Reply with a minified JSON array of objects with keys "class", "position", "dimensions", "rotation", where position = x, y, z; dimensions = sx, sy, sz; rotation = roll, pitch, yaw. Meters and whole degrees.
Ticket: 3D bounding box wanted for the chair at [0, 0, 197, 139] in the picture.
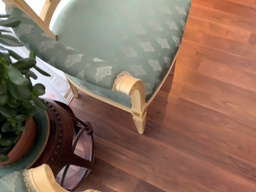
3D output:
[{"class":"chair","position":[-0.060,-0.300,0.780],"dimensions":[0.540,1.030,0.540],"rotation":[17,69,12]}]
